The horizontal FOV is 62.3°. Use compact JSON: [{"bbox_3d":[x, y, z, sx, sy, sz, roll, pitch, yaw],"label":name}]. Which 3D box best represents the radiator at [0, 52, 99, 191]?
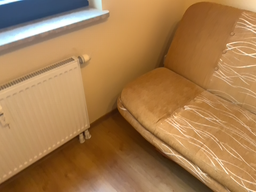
[{"bbox_3d":[-0.680,0.240,1.290,1.090,0.680,0.130,-31,49,-32],"label":"radiator"}]
